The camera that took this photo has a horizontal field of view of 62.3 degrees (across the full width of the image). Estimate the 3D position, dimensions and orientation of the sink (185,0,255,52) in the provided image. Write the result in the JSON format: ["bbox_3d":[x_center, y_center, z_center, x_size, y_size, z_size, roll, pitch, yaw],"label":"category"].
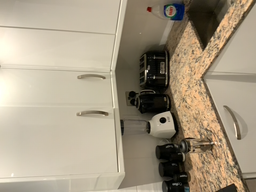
[{"bbox_3d":[0.550,-0.520,1.180,0.370,0.240,0.370,109,159,-55],"label":"sink"}]
